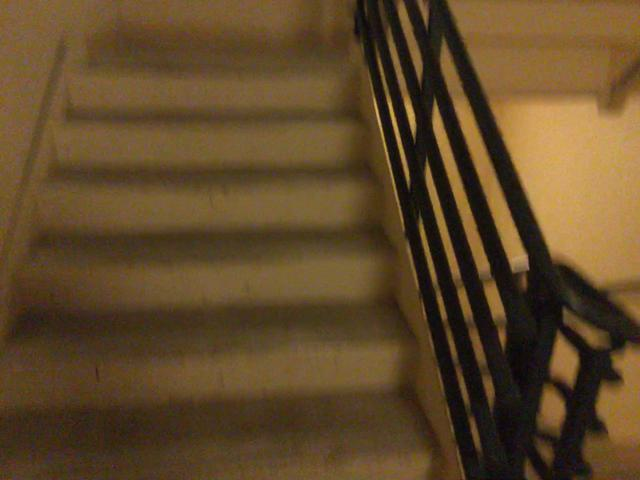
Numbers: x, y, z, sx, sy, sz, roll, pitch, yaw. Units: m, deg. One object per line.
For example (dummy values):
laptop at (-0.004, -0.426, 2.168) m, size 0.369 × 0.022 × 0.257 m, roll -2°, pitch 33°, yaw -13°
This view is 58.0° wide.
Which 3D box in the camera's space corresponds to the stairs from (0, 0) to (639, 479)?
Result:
stairs at (-0.250, -0.260, 1.890) m, size 1.400 × 1.820 × 2.520 m, roll -5°, pitch 23°, yaw -5°
